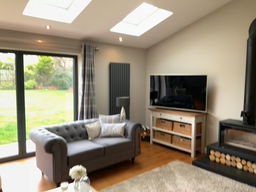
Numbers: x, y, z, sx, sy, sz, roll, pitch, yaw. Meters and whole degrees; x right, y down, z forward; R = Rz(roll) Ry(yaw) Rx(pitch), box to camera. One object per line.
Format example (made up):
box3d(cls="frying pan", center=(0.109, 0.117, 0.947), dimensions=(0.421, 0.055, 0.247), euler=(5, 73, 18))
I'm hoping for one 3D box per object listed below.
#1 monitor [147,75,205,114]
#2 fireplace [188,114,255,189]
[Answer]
box3d(cls="monitor", center=(1.010, -0.070, 4.650), dimensions=(1.270, 0.780, 0.120), euler=(5, 6, 35))
box3d(cls="fireplace", center=(1.830, 0.840, 3.510), dimensions=(0.810, 0.810, 1.370), euler=(-3, 7, -39))
